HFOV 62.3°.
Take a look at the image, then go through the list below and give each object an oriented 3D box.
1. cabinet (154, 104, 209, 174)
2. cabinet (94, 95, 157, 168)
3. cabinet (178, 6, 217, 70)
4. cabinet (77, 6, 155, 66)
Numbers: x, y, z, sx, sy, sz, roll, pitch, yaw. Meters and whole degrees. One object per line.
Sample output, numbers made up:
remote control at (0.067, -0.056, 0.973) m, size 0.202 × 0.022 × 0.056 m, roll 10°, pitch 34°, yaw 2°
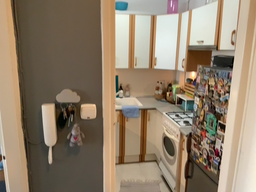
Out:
cabinet at (0.680, 0.550, 2.790) m, size 0.580 × 0.840 × 0.290 m, roll -1°, pitch 13°, yaw -10°
cabinet at (-0.080, 0.470, 3.090) m, size 0.810 × 0.850 × 0.580 m, roll -1°, pitch 13°, yaw -10°
cabinet at (0.830, -0.690, 2.580) m, size 0.310 × 0.710 × 0.250 m, roll -1°, pitch 13°, yaw -10°
cabinet at (-0.170, -0.790, 2.910) m, size 1.000 × 0.720 × 0.310 m, roll -1°, pitch 13°, yaw -10°
